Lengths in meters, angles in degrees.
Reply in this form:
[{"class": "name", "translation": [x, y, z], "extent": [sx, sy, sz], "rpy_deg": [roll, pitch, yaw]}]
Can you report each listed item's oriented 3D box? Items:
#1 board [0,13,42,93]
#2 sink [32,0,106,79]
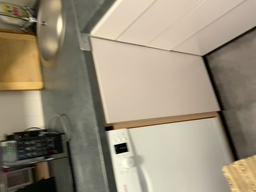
[{"class": "board", "translation": [-0.720, -0.240, 1.160], "extent": [0.080, 0.410, 0.450], "rpy_deg": [-27, 70, 48]}, {"class": "sink", "translation": [-0.360, -0.400, 1.190], "extent": [0.440, 0.190, 0.470], "rpy_deg": [-30, 68, 47]}]
